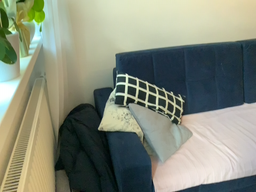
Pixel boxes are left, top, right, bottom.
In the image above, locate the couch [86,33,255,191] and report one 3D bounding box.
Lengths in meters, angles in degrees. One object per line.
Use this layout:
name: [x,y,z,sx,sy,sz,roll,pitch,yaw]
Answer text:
couch: [0.920,0.080,1.640,2.270,0.910,0.980,-8,26,-13]
